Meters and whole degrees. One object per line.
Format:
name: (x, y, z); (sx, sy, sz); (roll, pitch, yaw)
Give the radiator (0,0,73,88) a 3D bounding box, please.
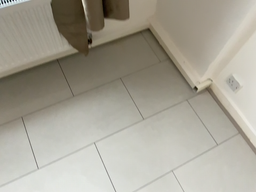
radiator: (-0.810, -0.170, 1.010); (1.040, 0.550, 0.070); (-24, 69, -16)
